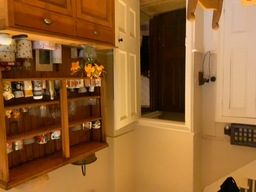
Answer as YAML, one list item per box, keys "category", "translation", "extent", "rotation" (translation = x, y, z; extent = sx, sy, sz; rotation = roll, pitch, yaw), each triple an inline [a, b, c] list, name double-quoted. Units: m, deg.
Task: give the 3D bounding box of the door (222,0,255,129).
- category: "door"
  translation: [2.000, -0.630, 3.080]
  extent: [1.110, 2.260, 0.100]
  rotation: [3, -174, 35]
